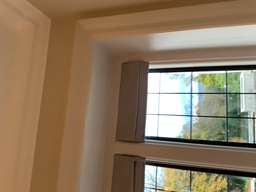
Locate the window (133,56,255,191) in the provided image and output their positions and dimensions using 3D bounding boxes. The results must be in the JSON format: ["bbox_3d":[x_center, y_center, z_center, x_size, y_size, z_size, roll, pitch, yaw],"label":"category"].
[{"bbox_3d":[0.750,0.820,1.430,0.090,1.480,2.250,32,-119,-69],"label":"window"}]
